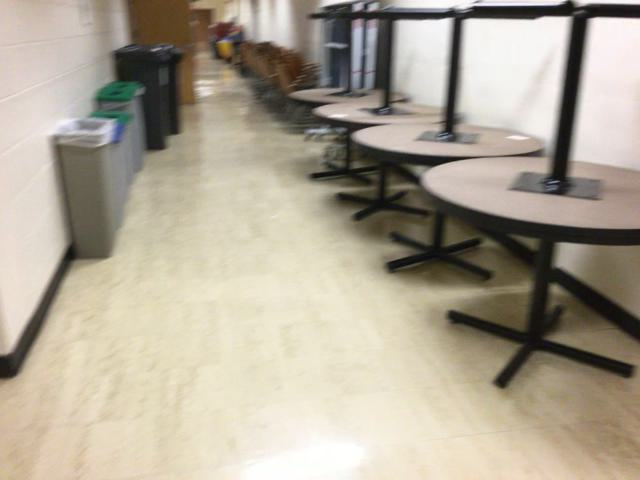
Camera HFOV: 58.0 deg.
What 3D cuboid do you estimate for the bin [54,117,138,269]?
[{"bbox_3d":[-1.230,-0.270,3.230,0.290,0.770,0.340,-4,19,-10],"label":"bin"}]
